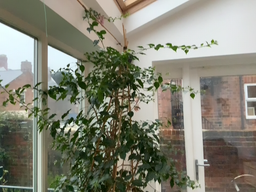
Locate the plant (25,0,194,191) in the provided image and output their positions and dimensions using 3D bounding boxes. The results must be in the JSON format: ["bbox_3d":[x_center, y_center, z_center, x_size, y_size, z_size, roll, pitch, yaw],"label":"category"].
[{"bbox_3d":[0.020,0.610,1.300,0.660,1.970,0.990,-2,-3,21],"label":"plant"}]
